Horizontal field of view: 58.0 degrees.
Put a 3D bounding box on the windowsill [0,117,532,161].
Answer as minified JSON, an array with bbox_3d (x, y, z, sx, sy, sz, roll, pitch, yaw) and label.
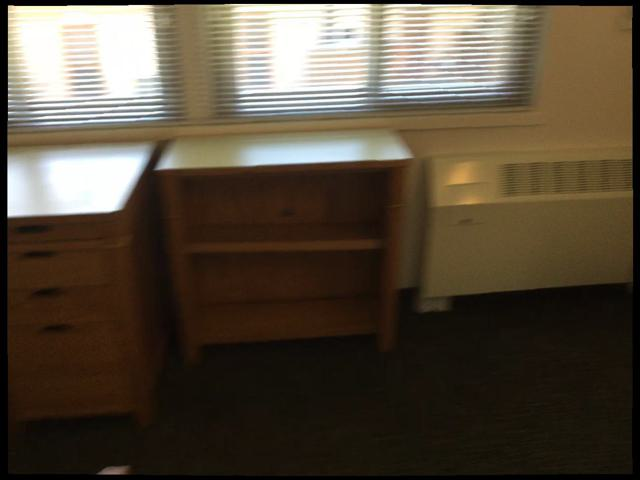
[{"bbox_3d":[-0.489,-0.351,2.030,2.485,0.090,0.080,-2,29,-4],"label":"windowsill"}]

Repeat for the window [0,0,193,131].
[{"bbox_3d":[-1.078,-0.701,1.910,1.208,0.631,0.230,-2,29,-4],"label":"window"}]

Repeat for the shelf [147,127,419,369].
[{"bbox_3d":[-0.120,0.030,2.100,0.828,0.781,0.350,-2,29,-4],"label":"shelf"}]

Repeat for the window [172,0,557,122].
[{"bbox_3d":[0.150,-0.812,2.000,1.258,0.721,0.260,-2,29,-4],"label":"window"}]
